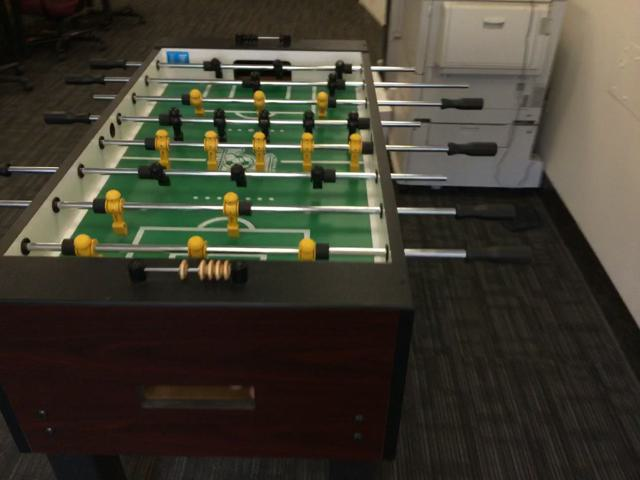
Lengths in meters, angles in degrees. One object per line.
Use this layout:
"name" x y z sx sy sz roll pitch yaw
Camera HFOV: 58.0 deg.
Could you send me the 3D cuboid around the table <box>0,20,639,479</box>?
"table" -0.140 0.050 1.630 1.160 0.870 1.480 1 36 -3
